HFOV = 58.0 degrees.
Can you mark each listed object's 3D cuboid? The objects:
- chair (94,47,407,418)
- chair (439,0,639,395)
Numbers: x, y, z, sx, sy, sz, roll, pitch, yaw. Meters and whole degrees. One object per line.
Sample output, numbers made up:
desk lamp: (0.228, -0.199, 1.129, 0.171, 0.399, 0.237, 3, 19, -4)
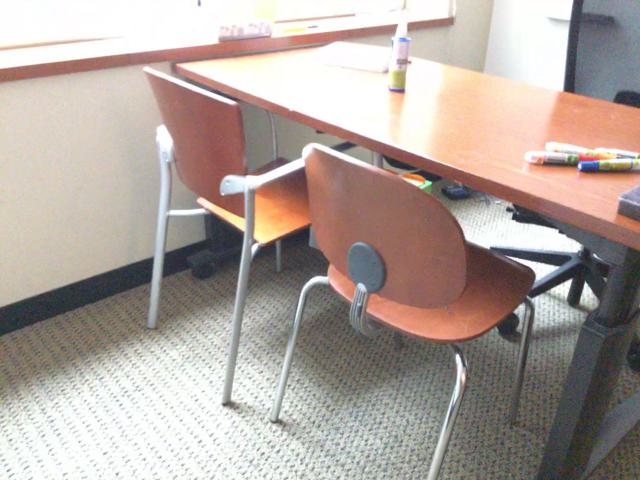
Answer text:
chair: (-0.200, -0.090, 1.750, 0.610, 0.820, 0.650, -19, 31, -30)
chair: (0.880, -0.230, 1.730, 0.660, 1.000, 0.720, -24, 34, -37)
